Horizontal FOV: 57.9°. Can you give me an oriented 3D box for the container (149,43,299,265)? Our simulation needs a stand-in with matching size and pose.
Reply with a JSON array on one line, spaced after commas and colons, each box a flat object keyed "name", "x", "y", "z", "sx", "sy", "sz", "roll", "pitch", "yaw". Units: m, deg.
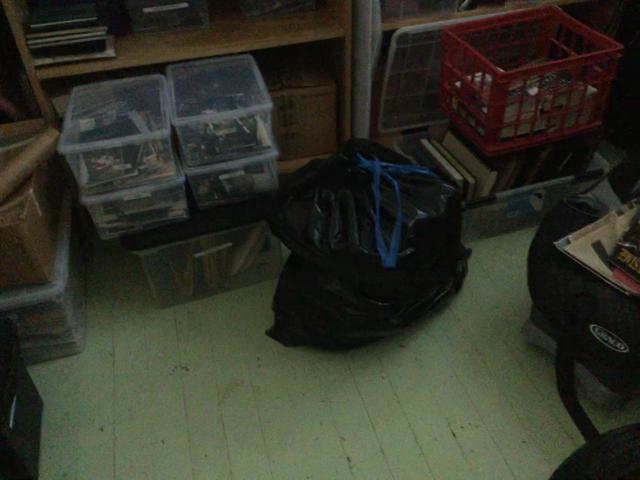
[{"name": "container", "x": -0.300, "y": -0.280, "z": 1.790, "sx": 0.320, "sy": 0.440, "sz": 0.500, "roll": -13, "pitch": 41, "yaw": -12}]

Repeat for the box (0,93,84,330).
[{"name": "box", "x": -0.830, "y": -0.080, "z": 1.440, "sx": 0.380, "sy": 0.280, "sz": 0.590, "roll": -13, "pitch": 41, "yaw": -12}]

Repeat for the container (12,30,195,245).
[{"name": "container", "x": -0.570, "y": -0.310, "z": 1.560, "sx": 0.340, "sy": 0.260, "sz": 0.610, "roll": -12, "pitch": 41, "yaw": -12}]

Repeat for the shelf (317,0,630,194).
[{"name": "shelf", "x": 0.490, "y": -0.920, "z": 1.910, "sx": 0.890, "sy": 1.300, "sz": 0.550, "roll": -13, "pitch": 41, "yaw": -12}]

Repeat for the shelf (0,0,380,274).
[{"name": "shelf", "x": -0.400, "y": -0.710, "z": 1.680, "sx": 0.950, "sy": 1.300, "sz": 0.700, "roll": -13, "pitch": 41, "yaw": -12}]
